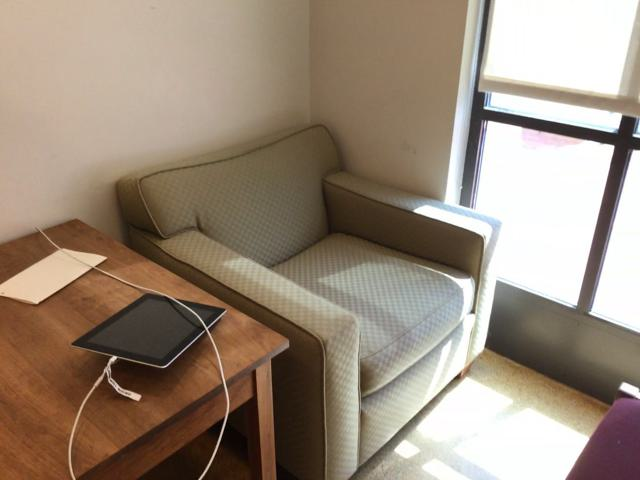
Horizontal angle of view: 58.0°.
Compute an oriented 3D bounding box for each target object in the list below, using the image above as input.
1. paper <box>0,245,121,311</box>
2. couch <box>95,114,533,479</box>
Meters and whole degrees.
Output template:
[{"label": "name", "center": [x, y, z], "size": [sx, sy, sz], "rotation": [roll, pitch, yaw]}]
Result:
[{"label": "paper", "center": [-0.600, 0.080, 1.320], "size": [0.160, 0.020, 0.250], "rotation": [7, 25, 15]}, {"label": "couch", "center": [0.010, 0.130, 1.800], "size": [0.840, 0.780, 0.930], "rotation": [19, 31, 37]}]
